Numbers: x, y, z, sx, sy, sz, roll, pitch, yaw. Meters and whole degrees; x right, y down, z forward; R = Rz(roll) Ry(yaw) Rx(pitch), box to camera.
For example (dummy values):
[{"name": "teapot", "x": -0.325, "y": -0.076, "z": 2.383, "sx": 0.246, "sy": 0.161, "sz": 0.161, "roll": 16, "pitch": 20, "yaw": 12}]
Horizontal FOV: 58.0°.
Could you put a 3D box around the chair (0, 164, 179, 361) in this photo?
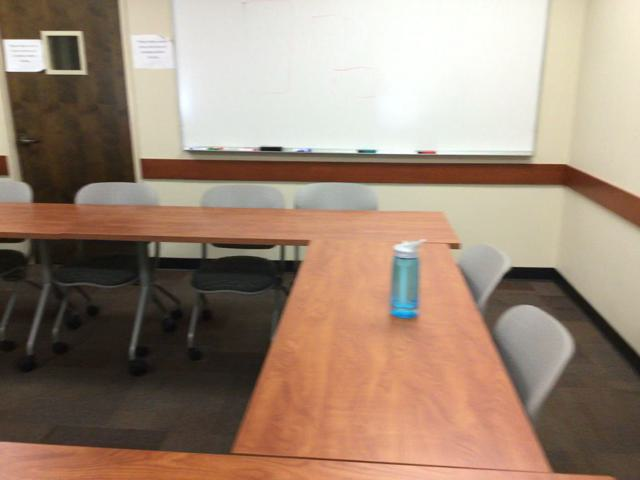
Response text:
[{"name": "chair", "x": -1.190, "y": 0.080, "z": 2.990, "sx": 0.710, "sy": 0.850, "sz": 0.660, "roll": 1, "pitch": 16, "yaw": 1}]

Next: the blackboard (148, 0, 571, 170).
[{"name": "blackboard", "x": 0.220, "y": -1.090, "z": 3.670, "sx": 2.420, "sy": 1.180, "sz": 0.530, "roll": 1, "pitch": 16, "yaw": 1}]

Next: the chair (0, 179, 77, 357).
[{"name": "chair", "x": -1.790, "y": 0.120, "z": 3.050, "sx": 0.710, "sy": 0.800, "sz": 0.550, "roll": 1, "pitch": 16, "yaw": 1}]

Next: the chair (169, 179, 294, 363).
[{"name": "chair", "x": -0.420, "y": 0.130, "z": 3.020, "sx": 0.530, "sy": 0.800, "sz": 0.610, "roll": 1, "pitch": 16, "yaw": 1}]
